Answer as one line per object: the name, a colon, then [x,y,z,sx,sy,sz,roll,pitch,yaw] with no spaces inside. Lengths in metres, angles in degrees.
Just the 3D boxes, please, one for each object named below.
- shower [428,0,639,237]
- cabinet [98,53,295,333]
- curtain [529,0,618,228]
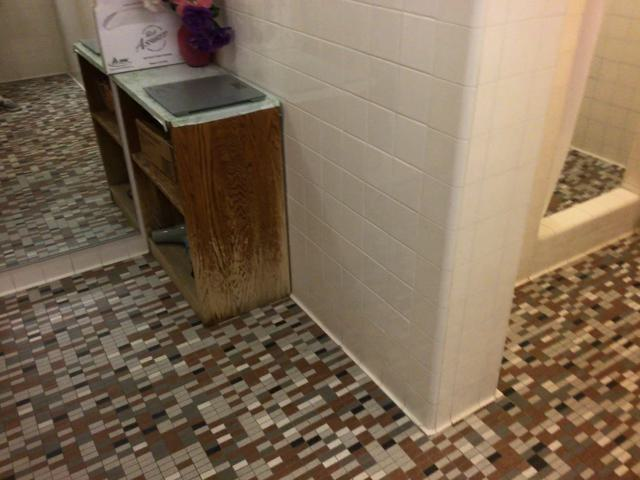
shower: [1.160,-0.950,2.290,1.190,1.440,0.690,-19,35,-26]
cabinet: [-0.440,-0.200,2.100,0.400,0.760,0.630,-19,35,-25]
curtain: [0.860,-0.500,1.950,0.130,0.980,0.080,-19,35,-26]
